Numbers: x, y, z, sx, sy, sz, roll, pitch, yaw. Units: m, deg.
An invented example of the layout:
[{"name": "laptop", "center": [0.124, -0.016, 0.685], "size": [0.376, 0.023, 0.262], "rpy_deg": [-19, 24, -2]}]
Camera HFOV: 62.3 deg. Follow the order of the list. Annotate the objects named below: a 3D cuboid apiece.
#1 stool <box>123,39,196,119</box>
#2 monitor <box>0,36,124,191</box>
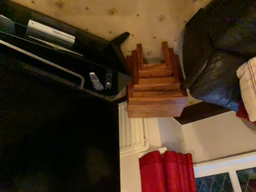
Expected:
[{"name": "stool", "center": [0.220, -0.130, 1.790], "size": [0.490, 0.450, 0.480], "rpy_deg": [-3, 147, 0]}, {"name": "monitor", "center": [-0.530, 0.110, 1.100], "size": [1.260, 0.850, 0.050], "rpy_deg": [24, 139, -35]}]
